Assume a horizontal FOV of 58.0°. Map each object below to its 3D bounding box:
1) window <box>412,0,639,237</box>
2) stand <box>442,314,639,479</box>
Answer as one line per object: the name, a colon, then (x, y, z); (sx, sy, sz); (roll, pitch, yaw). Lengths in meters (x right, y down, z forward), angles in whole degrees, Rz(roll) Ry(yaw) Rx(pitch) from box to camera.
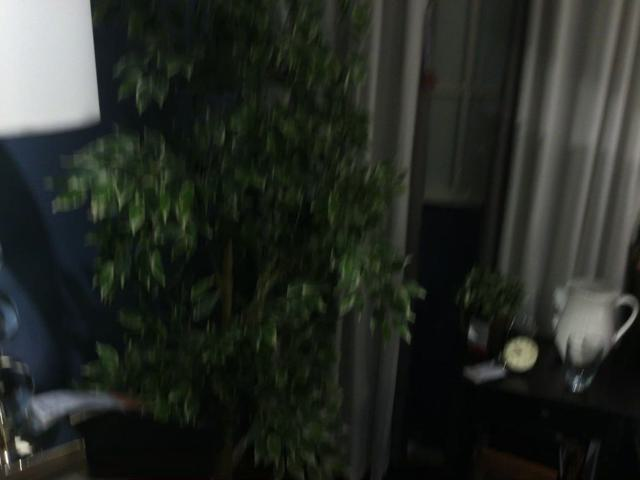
window: (0.570, -0.450, 1.630); (0.570, 0.920, 0.090); (1, 25, 21)
stand: (0.620, 0.610, 1.610); (0.470, 0.660, 0.420); (1, 16, 21)
